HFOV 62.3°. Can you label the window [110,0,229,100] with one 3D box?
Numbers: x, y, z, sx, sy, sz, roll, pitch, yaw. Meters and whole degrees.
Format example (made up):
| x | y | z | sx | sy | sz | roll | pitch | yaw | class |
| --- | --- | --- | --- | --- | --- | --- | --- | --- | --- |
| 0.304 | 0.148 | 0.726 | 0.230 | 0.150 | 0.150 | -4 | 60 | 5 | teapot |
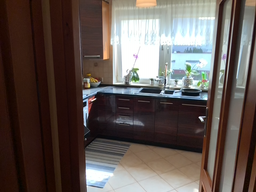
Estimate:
| x | y | z | sx | sy | sz | roll | pitch | yaw | class |
| --- | --- | --- | --- | --- | --- | --- | --- | --- | --- |
| 0.600 | -0.910 | 3.580 | 1.880 | 1.790 | 0.180 | 5 | 14 | 17 | window |
